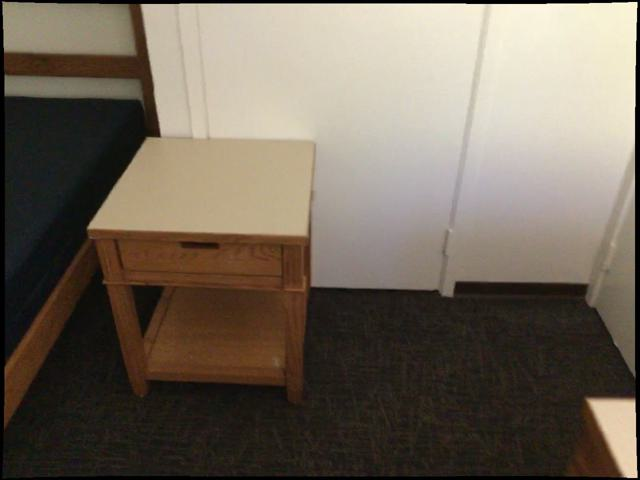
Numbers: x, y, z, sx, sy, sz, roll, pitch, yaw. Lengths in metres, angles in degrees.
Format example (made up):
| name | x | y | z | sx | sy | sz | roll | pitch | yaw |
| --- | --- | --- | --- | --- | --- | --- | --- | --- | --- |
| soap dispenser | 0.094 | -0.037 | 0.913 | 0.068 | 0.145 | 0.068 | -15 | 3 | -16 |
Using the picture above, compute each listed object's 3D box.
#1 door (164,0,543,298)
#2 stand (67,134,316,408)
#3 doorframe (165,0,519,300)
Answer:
| name | x | y | z | sx | sy | sz | roll | pitch | yaw |
| --- | --- | --- | --- | --- | --- | --- | --- | --- | --- |
| door | 0.090 | -0.331 | 1.730 | 0.977 | 1.262 | 0.070 | 0 | 35 | 1 |
| stand | -0.299 | 0.080 | 1.730 | 0.559 | 0.601 | 0.560 | 0 | 35 | 1 |
| doorframe | 0.060 | -0.311 | 1.740 | 0.908 | 1.222 | 0.080 | 0 | 35 | 1 |
